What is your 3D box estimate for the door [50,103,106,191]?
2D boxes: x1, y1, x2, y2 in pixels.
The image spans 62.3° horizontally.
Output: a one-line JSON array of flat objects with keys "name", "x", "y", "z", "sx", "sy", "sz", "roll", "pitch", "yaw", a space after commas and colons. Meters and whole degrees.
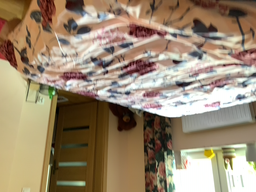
[{"name": "door", "x": -0.820, "y": 1.140, "z": 3.450, "sx": 0.940, "sy": 1.980, "sz": 0.140, "roll": -10, "pitch": 158, "yaw": 25}]
